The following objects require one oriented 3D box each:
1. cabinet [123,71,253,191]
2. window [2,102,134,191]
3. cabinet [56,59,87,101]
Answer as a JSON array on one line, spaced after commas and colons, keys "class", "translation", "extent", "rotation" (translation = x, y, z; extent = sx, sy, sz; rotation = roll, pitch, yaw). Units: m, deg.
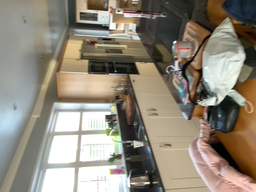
[{"class": "cabinet", "translation": [0.630, 0.790, 2.770], "extent": [3.620, 0.880, 0.660], "rotation": [-105, 18, -56]}, {"class": "window", "translation": [-0.840, 0.790, 3.350], "extent": [2.130, 1.580, 0.200], "rotation": [-104, 18, -55]}, {"class": "cabinet", "translation": [-1.100, -0.330, 4.260], "extent": [0.670, 0.550, 0.590], "rotation": [-105, 18, -56]}]
